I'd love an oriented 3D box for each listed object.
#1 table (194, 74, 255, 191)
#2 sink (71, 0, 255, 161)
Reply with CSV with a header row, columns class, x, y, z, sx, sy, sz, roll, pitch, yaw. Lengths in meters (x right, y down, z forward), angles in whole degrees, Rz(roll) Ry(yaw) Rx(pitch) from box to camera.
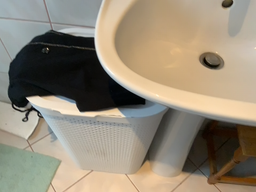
class,x,y,z,sx,sy,sz,roll,pitch,yaw
table,0.530,0.190,0.930,0.320,0.460,0.310,6,53,1
sink,0.220,-0.100,0.490,0.570,0.190,0.430,6,53,1
